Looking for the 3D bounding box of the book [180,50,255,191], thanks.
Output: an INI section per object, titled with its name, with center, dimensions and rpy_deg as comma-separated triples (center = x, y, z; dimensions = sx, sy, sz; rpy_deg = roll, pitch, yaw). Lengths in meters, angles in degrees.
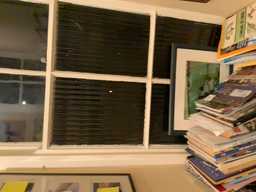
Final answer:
[book]
center = 0.400, 0.090, 0.910
dimensions = 0.280, 0.220, 0.500
rpy_deg = 180, 92, -76
